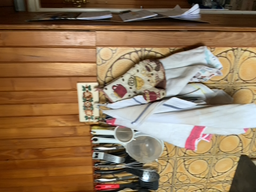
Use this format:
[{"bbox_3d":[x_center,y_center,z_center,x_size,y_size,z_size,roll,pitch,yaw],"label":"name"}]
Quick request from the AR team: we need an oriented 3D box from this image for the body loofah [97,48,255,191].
[{"bbox_3d":[0.280,0.100,0.900,0.250,0.790,0.550,-104,14,-64],"label":"body loofah"}]
